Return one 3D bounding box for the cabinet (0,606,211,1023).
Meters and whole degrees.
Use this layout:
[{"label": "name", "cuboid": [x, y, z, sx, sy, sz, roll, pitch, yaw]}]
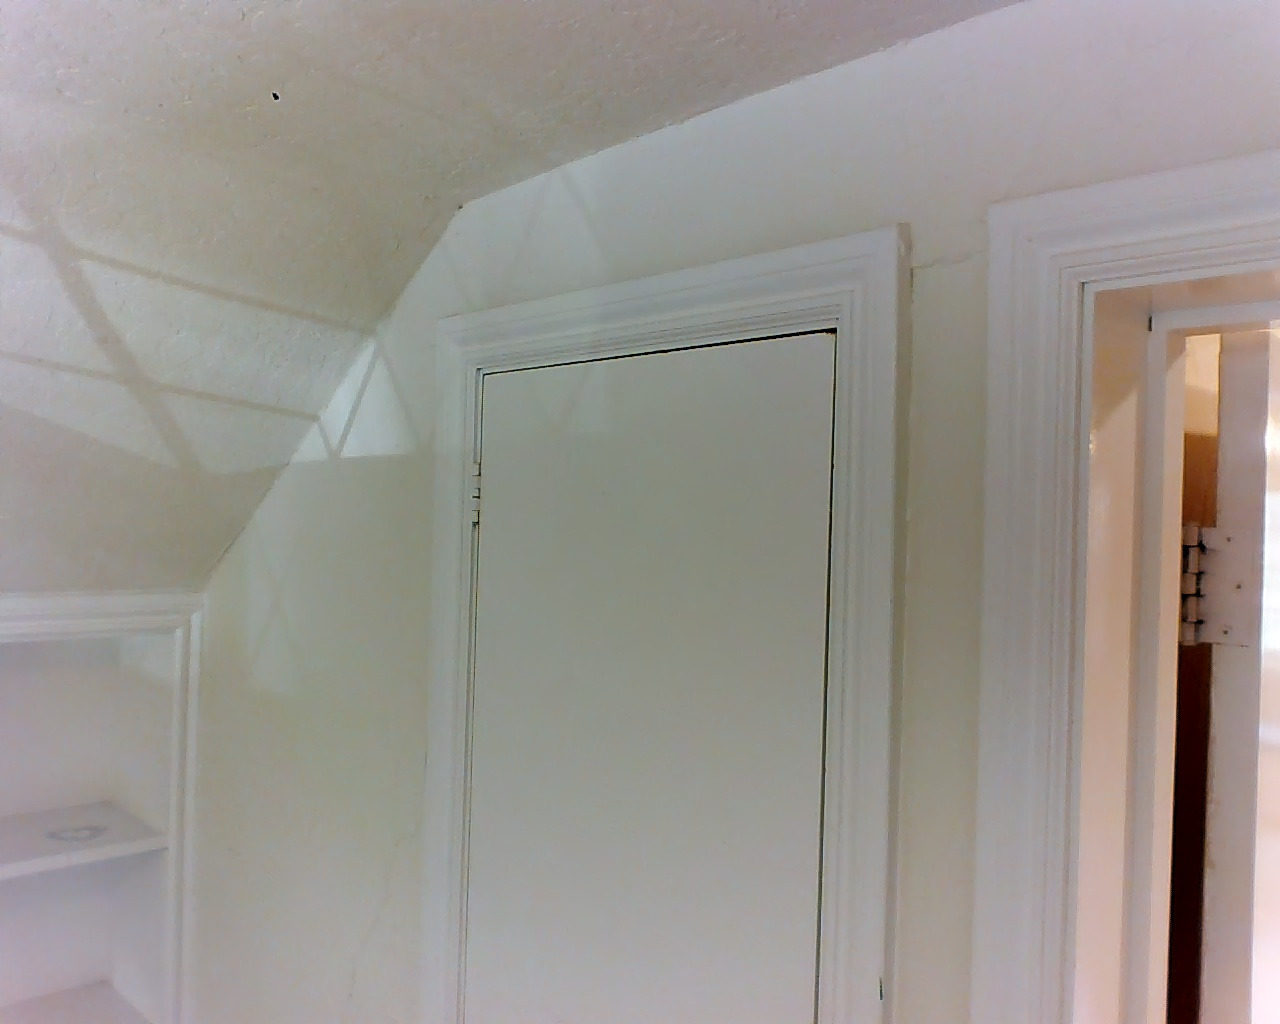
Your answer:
[{"label": "cabinet", "cuboid": [-1.030, 0.840, 1.610, 0.610, 1.350, 0.310, 2, 0, -44]}]
